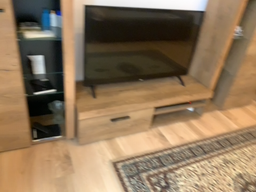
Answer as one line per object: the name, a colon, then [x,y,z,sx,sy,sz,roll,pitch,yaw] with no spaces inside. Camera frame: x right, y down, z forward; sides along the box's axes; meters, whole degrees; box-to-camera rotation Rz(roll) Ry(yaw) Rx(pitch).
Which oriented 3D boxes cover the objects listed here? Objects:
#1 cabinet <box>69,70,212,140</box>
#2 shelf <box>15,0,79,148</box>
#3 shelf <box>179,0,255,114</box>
cabinet: [0.120,0.030,1.920,1.210,0.320,0.390,-7,36,-24]
shelf: [-0.470,-0.550,1.200,0.300,1.910,0.380,-7,36,-24]
shelf: [0.850,-0.410,2.020,0.300,1.150,0.340,-7,36,-24]
